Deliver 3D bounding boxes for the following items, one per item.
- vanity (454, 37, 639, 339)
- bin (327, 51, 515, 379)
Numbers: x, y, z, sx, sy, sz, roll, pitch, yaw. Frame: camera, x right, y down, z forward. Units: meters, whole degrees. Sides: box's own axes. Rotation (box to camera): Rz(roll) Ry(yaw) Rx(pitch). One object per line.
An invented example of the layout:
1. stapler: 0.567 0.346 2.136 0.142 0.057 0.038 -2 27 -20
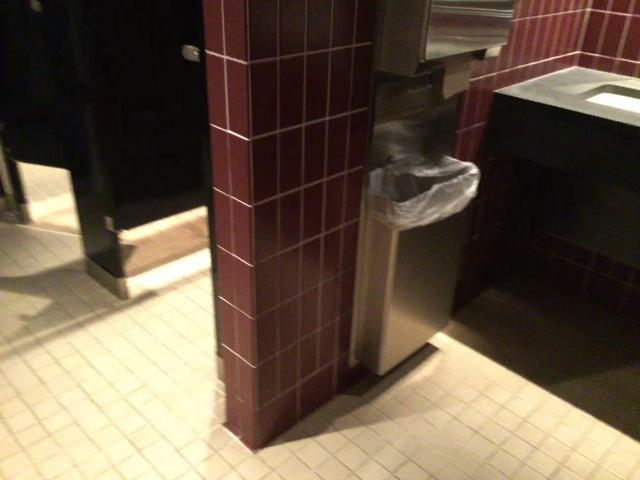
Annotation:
1. vanity: 1.320 -0.050 1.630 0.630 0.710 1.690 -25 38 -39
2. bin: 0.280 -0.080 1.740 0.450 0.860 0.250 -25 38 -39
